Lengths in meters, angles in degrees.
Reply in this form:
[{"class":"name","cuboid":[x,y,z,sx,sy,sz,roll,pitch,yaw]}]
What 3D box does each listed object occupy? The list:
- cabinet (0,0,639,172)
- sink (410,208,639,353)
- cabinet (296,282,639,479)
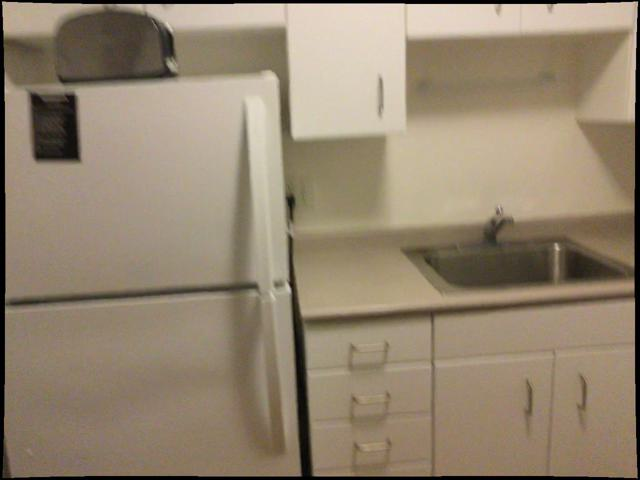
[{"class":"cabinet","cuboid":[0.150,-0.871,1.740,2.258,1.101,0.420,-5,14,-4]},{"class":"sink","cuboid":[0.619,0.100,1.870,0.529,0.260,0.550,-5,14,-4]},{"class":"cabinet","cuboid":[0.529,0.591,1.700,1.129,0.861,0.110,-5,14,-4]}]
